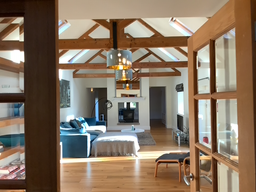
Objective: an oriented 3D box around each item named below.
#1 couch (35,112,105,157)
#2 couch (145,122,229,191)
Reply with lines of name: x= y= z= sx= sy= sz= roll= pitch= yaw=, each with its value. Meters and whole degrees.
couch: x=-1.710 y=1.140 z=7.300 sx=1.360 sy=0.850 sz=3.590 roll=0 pitch=0 yaw=1
couch: x=1.110 y=1.070 z=4.070 sx=1.410 sy=0.990 sz=0.660 roll=0 pitch=1 yaw=36
